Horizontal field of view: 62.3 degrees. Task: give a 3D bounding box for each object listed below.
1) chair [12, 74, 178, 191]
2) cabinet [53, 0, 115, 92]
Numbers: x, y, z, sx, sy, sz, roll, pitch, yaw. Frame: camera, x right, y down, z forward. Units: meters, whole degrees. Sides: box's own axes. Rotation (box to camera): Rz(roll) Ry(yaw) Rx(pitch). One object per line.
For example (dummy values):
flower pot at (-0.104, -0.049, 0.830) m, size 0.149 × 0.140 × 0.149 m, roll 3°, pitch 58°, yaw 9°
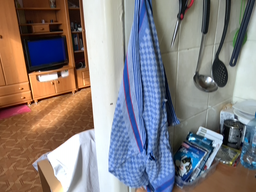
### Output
chair at (-0.240, 0.430, 1.360) m, size 0.610 × 0.910 × 0.850 m, roll -15°, pitch 24°, yaw -33°
cabinet at (-0.840, -1.160, 4.250) m, size 0.970 × 1.940 × 0.520 m, roll -16°, pitch 25°, yaw -36°
